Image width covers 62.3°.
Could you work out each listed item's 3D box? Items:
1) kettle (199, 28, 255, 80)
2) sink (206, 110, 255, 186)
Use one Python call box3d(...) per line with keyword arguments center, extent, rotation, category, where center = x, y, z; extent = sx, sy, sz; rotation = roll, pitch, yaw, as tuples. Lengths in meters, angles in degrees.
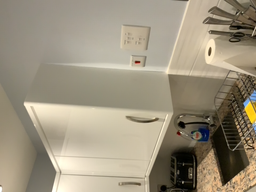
box3d(center=(0.560, -0.220, 1.120), extent=(0.190, 0.280, 0.160), rotation=(97, 176, -49), category="kettle")
box3d(center=(0.760, 0.360, 1.450), extent=(0.370, 0.240, 0.370), rotation=(98, 175, -51), category="sink")
